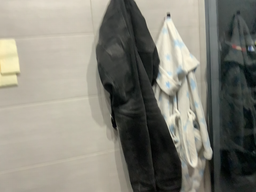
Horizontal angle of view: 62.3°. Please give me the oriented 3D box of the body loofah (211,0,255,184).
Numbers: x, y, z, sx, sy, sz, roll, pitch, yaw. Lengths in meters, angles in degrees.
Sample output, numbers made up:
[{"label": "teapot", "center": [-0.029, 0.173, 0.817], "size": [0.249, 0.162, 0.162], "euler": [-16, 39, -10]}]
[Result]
[{"label": "body loofah", "center": [0.650, -0.070, 1.200], "size": [0.290, 1.100, 0.140], "euler": [-7, 9, -10]}]

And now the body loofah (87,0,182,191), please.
[{"label": "body loofah", "center": [0.040, 0.040, 1.000], "size": [0.340, 0.960, 0.170], "euler": [-7, 9, -13]}]

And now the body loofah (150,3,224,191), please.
[{"label": "body loofah", "center": [0.320, 0.100, 1.110], "size": [0.310, 1.070, 0.130], "euler": [-7, 9, -11]}]
